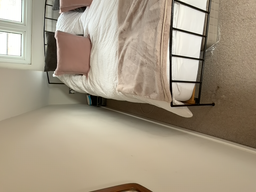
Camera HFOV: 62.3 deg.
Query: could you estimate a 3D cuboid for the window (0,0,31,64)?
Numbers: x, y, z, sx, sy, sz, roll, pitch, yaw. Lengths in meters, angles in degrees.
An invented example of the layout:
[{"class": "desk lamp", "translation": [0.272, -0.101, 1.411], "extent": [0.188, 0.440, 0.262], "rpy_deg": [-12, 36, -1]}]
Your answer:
[{"class": "window", "translation": [-1.700, -0.950, 2.810], "extent": [0.120, 0.730, 0.980], "rpy_deg": [14, 101, 54]}]
